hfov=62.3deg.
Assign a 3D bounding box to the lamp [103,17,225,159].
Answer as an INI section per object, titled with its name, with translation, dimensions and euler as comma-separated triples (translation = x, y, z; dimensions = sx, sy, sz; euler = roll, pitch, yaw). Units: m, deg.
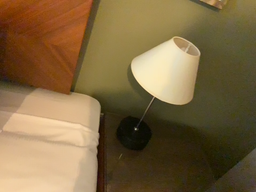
[lamp]
translation = 0.090, -0.010, 0.840
dimensions = 0.250, 0.450, 0.260
euler = 14, 37, -16
